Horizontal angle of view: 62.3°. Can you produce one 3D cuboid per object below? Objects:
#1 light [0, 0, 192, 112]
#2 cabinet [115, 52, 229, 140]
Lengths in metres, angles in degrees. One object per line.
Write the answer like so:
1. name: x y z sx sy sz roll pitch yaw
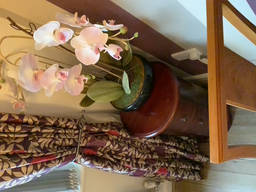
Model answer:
1. light: -0.090 -0.150 0.850 0.410 0.610 0.300 -14 70 42
2. cabinet: 0.300 0.060 1.310 0.380 0.650 0.380 -9 73 43
